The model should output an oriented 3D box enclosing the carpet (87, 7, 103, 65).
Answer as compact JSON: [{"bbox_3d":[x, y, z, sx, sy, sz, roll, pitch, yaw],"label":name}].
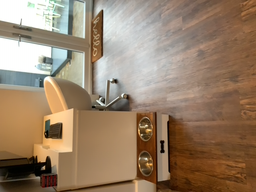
[{"bbox_3d":[-0.510,-0.910,3.270,0.410,0.080,0.760,-13,75,57],"label":"carpet"}]

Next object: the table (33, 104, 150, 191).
[{"bbox_3d":[-0.470,0.460,2.260,1.240,0.820,0.620,-12,76,58],"label":"table"}]
